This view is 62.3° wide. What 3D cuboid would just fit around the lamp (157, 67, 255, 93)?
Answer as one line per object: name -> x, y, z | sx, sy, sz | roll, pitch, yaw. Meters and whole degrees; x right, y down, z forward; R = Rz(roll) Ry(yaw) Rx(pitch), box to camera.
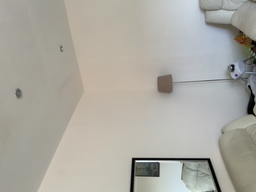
lamp -> 1.240, -0.240, 3.390 | 0.350, 1.520, 0.290 | 41, -133, -83
